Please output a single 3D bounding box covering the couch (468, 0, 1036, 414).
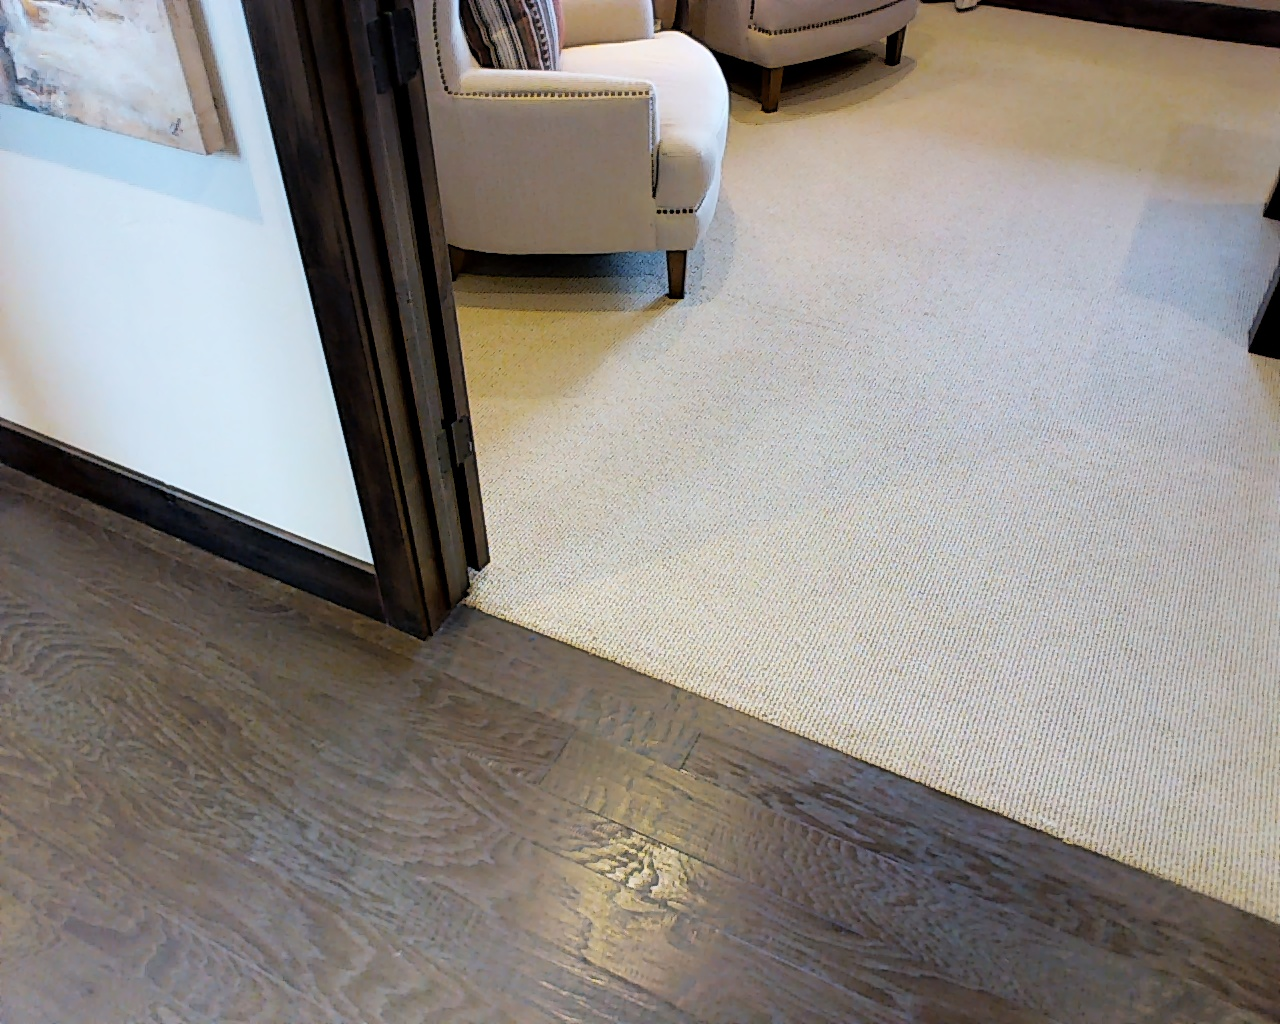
[{"bbox_3d":[0.190,-0.980,2.450,0.900,0.990,0.890,-17,45,-19],"label":"couch"}]
